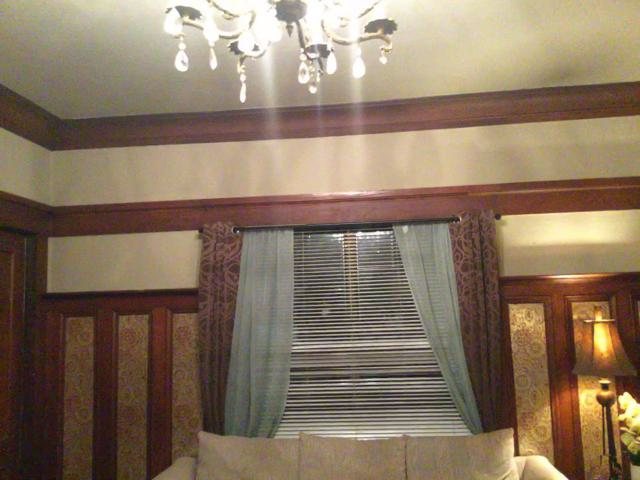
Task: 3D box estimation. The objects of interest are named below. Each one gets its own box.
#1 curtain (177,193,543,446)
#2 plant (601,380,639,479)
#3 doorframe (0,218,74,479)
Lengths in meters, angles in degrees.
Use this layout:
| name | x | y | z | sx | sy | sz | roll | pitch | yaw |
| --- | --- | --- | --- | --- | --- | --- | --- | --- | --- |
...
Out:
| name | x | y | z | sx | sy | sz | roll | pitch | yaw |
| --- | --- | --- | --- | --- | --- | --- | --- | --- | --- |
| curtain | 0.160 | 0.440 | 3.180 | 1.860 | 1.230 | 0.270 | -4 | -11 | 6 |
| plant | 1.530 | 0.930 | 2.770 | 0.190 | 0.480 | 0.290 | -4 | -11 | 6 |
| doorframe | -1.650 | 0.920 | 2.980 | 0.180 | 2.010 | 0.950 | -3 | -11 | 7 |
